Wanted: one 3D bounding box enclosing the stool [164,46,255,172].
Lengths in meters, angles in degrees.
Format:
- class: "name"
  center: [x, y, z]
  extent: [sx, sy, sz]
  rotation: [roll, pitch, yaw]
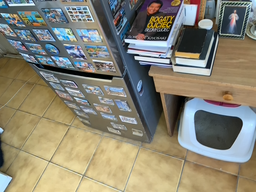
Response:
- class: "stool"
  center: [0.530, 0.070, 1.230]
  extent: [0.470, 0.450, 0.470]
  rotation: [13, 60, 24]
